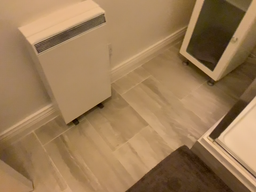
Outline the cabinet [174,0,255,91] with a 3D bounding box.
[{"bbox_3d":[0.640,-0.560,1.240,0.350,1.090,0.380,-33,63,-22],"label":"cabinet"}]
